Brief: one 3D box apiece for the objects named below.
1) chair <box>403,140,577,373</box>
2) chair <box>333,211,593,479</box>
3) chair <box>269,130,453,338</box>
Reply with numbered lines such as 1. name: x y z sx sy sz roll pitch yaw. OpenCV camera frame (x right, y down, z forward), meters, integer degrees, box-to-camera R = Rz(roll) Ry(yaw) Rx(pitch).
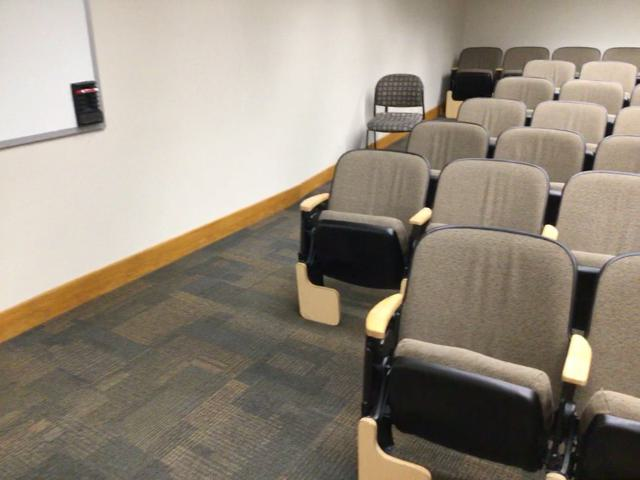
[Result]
1. chair: 0.760 0.030 2.510 0.570 0.810 0.570 4 21 30
2. chair: 0.460 0.390 1.750 0.560 0.810 0.540 6 21 34
3. chair: 0.230 -0.040 2.760 0.560 0.820 0.610 -4 14 28
